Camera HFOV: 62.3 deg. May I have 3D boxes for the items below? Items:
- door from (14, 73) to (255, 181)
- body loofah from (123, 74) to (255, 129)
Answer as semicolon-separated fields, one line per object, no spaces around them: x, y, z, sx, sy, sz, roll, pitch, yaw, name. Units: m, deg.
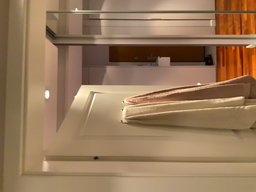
0.550;0.100;1.310;0.920;2.040;0.130;-89;0;-62;door
0.530;0.010;1.320;0.490;1.110;0.140;-89;0;-66;body loofah
